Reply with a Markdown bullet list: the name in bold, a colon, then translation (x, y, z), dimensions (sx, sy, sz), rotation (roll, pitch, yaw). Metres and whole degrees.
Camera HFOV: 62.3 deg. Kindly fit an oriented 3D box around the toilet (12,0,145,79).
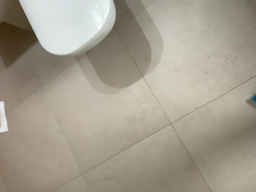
- **toilet**: translation (-0.240, -0.410, 1.040), dimensions (0.340, 0.430, 0.510), rotation (-32, 79, 15)
